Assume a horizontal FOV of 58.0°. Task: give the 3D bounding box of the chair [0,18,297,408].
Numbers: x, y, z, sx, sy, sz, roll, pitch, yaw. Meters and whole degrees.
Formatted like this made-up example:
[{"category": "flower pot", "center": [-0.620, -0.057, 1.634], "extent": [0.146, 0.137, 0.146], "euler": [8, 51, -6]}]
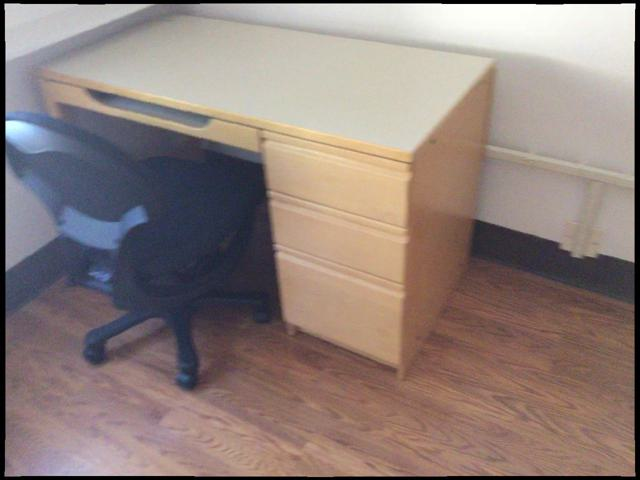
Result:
[{"category": "chair", "center": [-0.479, -0.090, 1.700], "extent": [0.509, 0.861, 0.600], "euler": [18, 44, 25]}]
